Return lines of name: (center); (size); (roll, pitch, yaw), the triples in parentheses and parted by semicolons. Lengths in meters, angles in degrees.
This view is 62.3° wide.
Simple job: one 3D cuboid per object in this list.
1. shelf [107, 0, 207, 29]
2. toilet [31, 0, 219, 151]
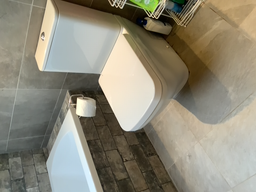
shelf: (0.160, -0.580, 1.170); (0.230, 0.580, 0.190); (-56, 49, 36)
toilet: (-0.040, -0.130, 1.220); (0.400, 0.810, 0.640); (-57, 48, 35)
